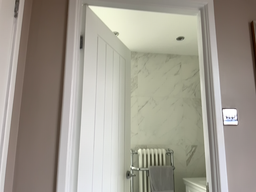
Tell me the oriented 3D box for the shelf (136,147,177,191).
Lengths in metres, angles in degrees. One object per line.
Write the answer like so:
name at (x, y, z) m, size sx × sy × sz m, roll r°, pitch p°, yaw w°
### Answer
shelf at (0.320, 1.090, 2.390) m, size 0.430 × 0.980 × 0.150 m, roll 1°, pitch -11°, yaw -8°
